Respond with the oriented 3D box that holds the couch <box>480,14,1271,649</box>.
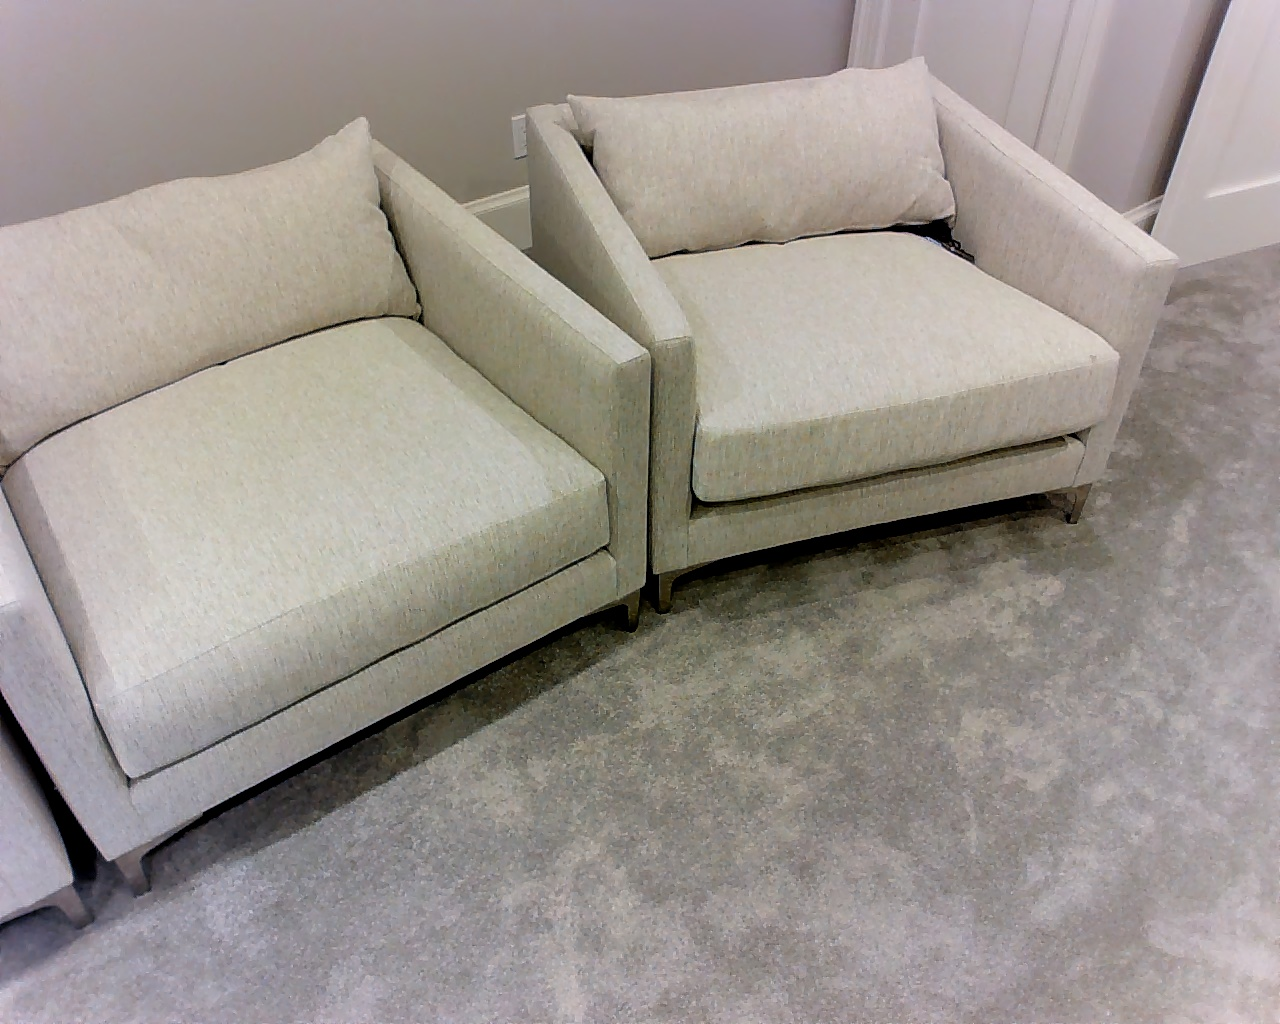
[{"bbox_3d":[0.360,-0.480,2.330,1.120,0.720,1.120,-12,43,-15],"label":"couch"}]
